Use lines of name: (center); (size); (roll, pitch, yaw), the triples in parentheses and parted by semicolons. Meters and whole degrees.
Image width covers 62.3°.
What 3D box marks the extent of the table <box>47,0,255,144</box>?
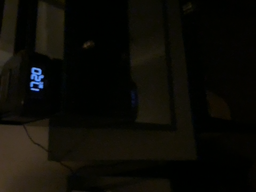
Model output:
table: (0.130, -0.400, 0.960); (0.490, 0.740, 1.170); (-14, 72, 41)
